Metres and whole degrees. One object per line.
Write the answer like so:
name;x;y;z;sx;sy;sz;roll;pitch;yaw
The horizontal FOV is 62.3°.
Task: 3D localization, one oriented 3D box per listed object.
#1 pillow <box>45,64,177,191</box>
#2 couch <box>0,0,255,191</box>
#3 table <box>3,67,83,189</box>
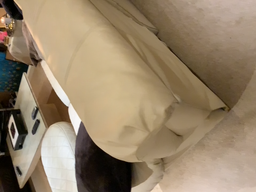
pillow;-0.130;0.220;1.080;0.490;0.290;0.580;-32;71;43
couch;-0.410;-0.490;1.500;2.360;0.980;1.010;56;130;26
table;-1.200;0.430;2.790;0.870;0.430;1.360;54;129;27
